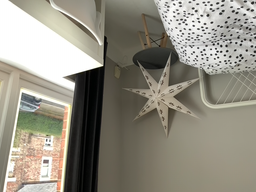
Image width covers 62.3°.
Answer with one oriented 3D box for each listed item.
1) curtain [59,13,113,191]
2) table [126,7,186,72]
[{"bbox_3d":[-0.350,0.470,1.890,0.210,2.510,0.440,-9,160,24],"label":"curtain"},{"bbox_3d":[0.300,-0.570,2.270,0.490,0.400,0.440,-10,160,27],"label":"table"}]
